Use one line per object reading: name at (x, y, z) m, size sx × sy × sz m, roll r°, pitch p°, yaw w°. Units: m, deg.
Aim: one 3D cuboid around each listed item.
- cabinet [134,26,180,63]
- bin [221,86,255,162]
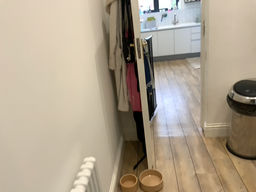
cabinet at (0.850, -1.520, 6.230) m, size 1.230 × 0.860 × 0.560 m, roll -4°, pitch 22°, yaw 7°
bin at (1.160, 0.260, 2.030) m, size 0.380 × 0.600 × 0.380 m, roll -3°, pitch 22°, yaw 9°
